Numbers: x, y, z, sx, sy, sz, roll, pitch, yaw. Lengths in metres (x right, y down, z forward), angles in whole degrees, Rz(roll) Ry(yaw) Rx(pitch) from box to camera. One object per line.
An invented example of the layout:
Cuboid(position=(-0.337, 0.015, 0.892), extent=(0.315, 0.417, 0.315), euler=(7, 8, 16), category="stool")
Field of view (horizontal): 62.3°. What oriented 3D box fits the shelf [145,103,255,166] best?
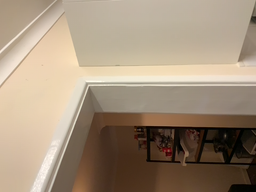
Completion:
Cuboid(position=(1.170, 0.620, 3.350), extent=(0.460, 1.780, 0.980), euler=(-84, -9, -47), category="shelf")
